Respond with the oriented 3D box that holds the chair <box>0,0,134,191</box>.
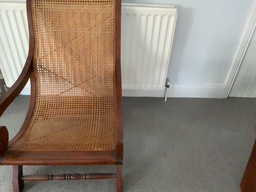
[{"bbox_3d":[-0.350,-0.030,1.270,0.690,0.890,0.970,2,37,-2],"label":"chair"}]
